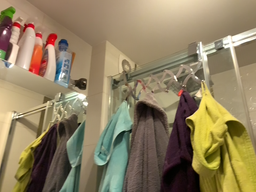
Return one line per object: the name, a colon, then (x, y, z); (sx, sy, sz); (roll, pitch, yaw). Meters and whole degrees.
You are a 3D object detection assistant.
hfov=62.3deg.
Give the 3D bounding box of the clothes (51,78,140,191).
clothes: (-0.150, 0.540, 0.870); (0.360, 1.190, 0.190); (-17, -29, 34)
